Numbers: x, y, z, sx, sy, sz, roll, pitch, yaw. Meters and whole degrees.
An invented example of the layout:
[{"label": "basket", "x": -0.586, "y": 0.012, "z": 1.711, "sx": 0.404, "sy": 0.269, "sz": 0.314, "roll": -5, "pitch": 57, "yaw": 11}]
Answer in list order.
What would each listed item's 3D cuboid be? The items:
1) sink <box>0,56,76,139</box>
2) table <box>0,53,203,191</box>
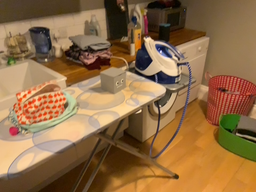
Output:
[{"label": "sink", "x": -0.840, "y": -0.020, "z": 1.460, "sx": 0.660, "sy": 0.210, "sz": 0.670, "roll": -25, "pitch": 38, "yaw": -36}, {"label": "table", "x": -0.240, "y": 0.390, "z": 1.360, "sx": 1.550, "sy": 0.900, "sz": 0.520, "roll": -25, "pitch": 38, "yaw": -36}]
